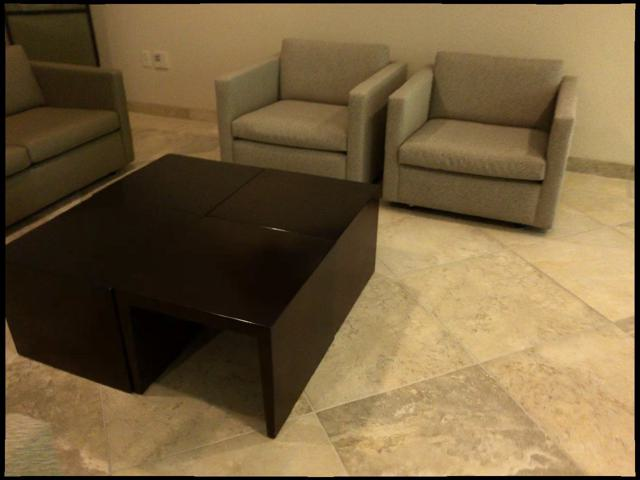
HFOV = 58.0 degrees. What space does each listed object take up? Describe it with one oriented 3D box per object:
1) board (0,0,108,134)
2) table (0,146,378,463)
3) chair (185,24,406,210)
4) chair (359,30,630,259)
[{"bbox_3d":[-1.916,-1.573,3.900,0.599,1.522,0.560,-13,33,-23],"label":"board"},{"bbox_3d":[-0.469,0.110,2.150,1.088,0.431,1.040,12,32,18],"label":"table"},{"bbox_3d":[-0.100,-0.772,3.370,0.948,0.711,0.900,12,32,17],"label":"chair"},{"bbox_3d":[0.928,-0.601,3.140,1.108,0.761,1.090,12,32,17],"label":"chair"}]
